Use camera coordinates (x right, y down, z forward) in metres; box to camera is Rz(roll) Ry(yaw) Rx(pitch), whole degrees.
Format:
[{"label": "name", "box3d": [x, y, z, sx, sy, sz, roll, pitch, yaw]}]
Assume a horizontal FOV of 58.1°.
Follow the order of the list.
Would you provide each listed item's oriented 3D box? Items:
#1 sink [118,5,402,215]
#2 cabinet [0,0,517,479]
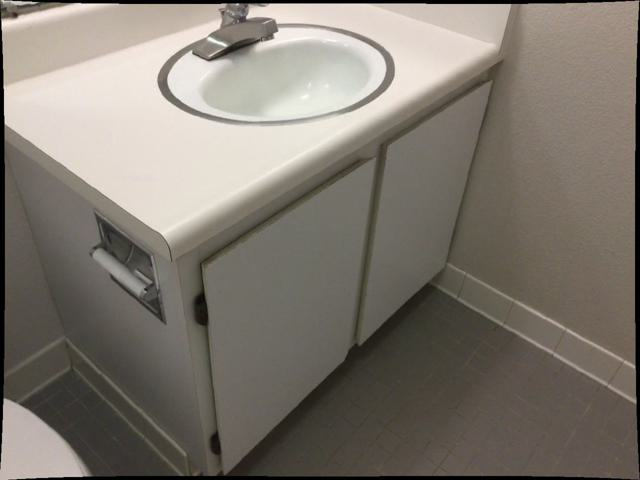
[{"label": "sink", "box3d": [-0.110, -0.300, 1.210, 0.340, 0.180, 0.460, 30, 48, 27]}, {"label": "cabinet", "box3d": [-0.130, -0.090, 1.360, 0.580, 0.871, 0.970, 30, 48, 27]}]
